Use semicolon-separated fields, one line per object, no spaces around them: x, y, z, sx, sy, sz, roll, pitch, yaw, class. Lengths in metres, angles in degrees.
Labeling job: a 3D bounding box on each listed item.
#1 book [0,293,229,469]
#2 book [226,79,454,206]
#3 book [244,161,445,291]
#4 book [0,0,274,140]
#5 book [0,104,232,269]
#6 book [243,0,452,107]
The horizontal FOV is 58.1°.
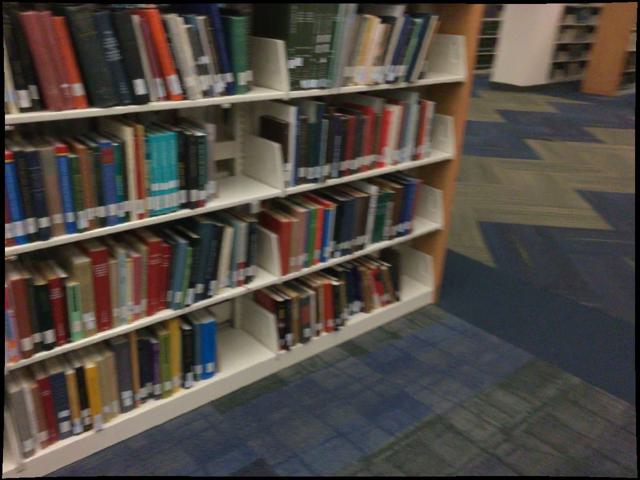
-0.648;0.431;1.900;0.709;0.271;0.160;-18;31;-37;book
0.110;-0.421;2.280;0.939;0.311;0.280;-18;31;-37;book
0.130;-0.090;2.380;0.909;0.281;0.220;-18;31;-37;book
-0.578;-0.511;1.610;0.919;0.311;0.270;-18;31;-37;book
-0.668;-0.190;1.710;0.739;0.291;0.320;-18;31;-37;book
0.120;-0.712;2.090;0.779;0.331;0.250;-18;31;-37;book
